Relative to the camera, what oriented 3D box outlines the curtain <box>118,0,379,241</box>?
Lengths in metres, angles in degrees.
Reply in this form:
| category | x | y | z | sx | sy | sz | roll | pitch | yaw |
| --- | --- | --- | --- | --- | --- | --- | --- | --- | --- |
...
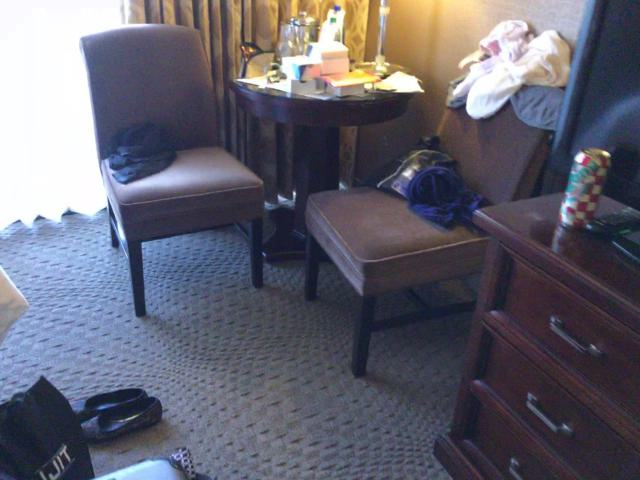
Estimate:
| category | x | y | z | sx | sy | sz | roll | pitch | yaw |
| --- | --- | --- | --- | --- | --- | --- | --- | --- | --- |
| curtain | -0.290 | -0.850 | 2.530 | 1.060 | 1.590 | 0.300 | -10 | 31 | -26 |
